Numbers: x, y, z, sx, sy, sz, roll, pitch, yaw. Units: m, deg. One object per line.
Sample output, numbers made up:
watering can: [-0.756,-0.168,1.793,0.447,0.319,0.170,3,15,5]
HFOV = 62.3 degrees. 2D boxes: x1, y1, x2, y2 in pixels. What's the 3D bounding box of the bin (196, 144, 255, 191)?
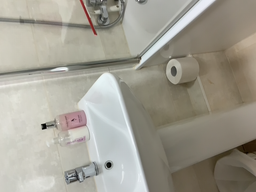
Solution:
bin: [0.570,0.410,1.010,0.270,0.320,0.270,-24,78,64]
